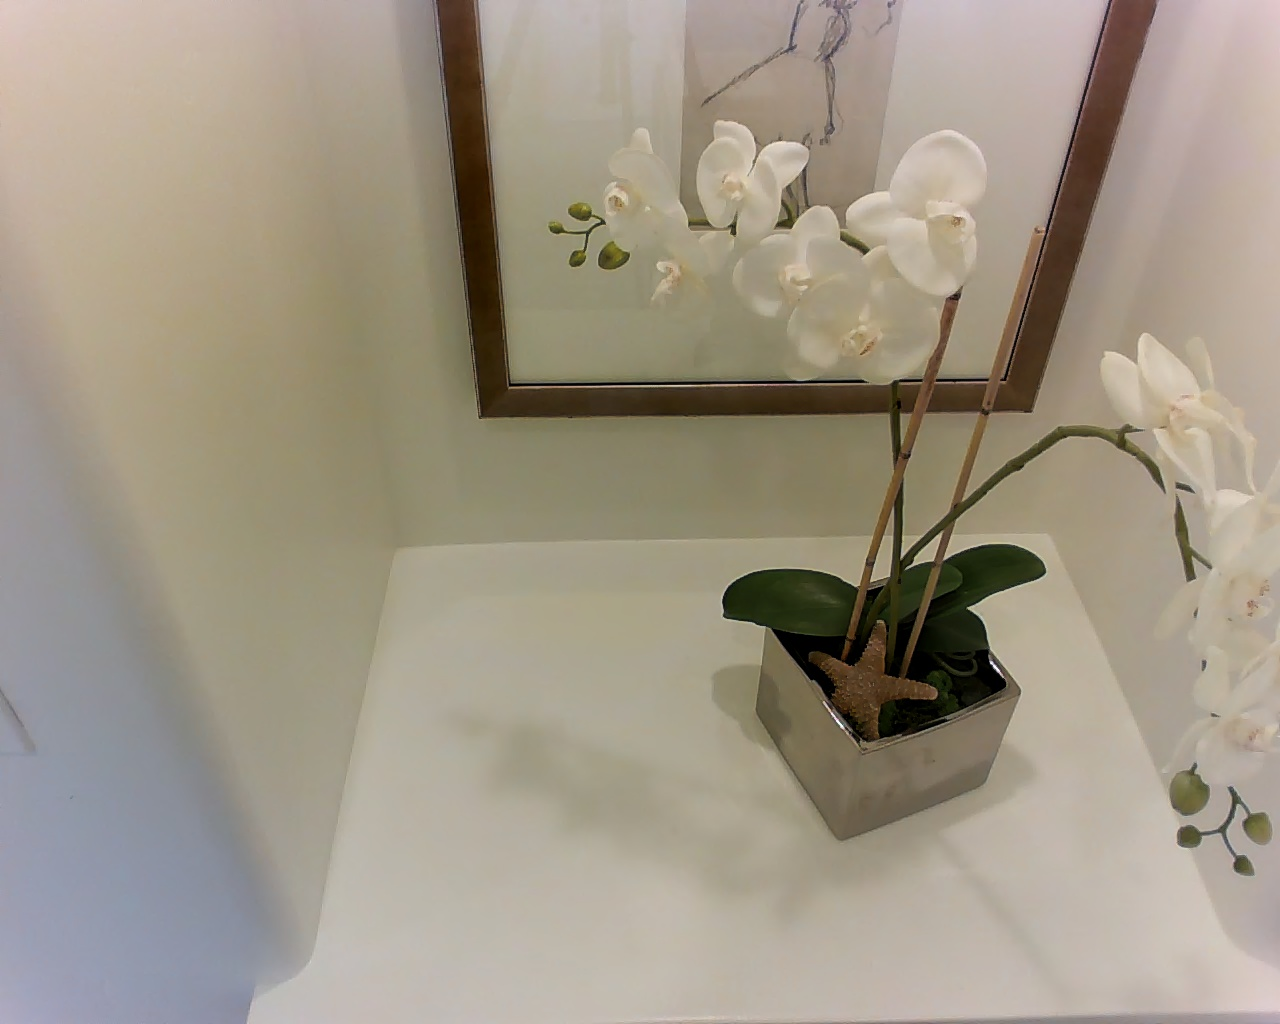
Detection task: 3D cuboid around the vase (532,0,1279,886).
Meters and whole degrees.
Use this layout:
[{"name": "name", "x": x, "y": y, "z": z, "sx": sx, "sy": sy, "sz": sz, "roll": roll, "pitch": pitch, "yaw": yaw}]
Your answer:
[{"name": "vase", "x": 0.220, "y": -0.070, "z": 1.030, "sx": 0.520, "sy": 0.720, "sz": 0.330, "roll": -18, "pitch": 45, "yaw": -20}]
